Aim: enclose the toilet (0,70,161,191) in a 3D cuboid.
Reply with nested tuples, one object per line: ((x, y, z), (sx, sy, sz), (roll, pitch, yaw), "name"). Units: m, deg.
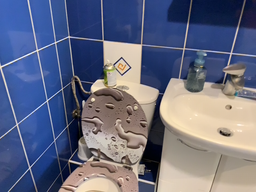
((-0.120, 0.400, 1.070), (0.390, 0.820, 0.660), (10, 31, 14), "toilet")

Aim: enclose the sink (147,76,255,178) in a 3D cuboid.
((0.400, 0.100, 0.860), (0.560, 0.130, 0.420), (10, 31, 14), "sink")
